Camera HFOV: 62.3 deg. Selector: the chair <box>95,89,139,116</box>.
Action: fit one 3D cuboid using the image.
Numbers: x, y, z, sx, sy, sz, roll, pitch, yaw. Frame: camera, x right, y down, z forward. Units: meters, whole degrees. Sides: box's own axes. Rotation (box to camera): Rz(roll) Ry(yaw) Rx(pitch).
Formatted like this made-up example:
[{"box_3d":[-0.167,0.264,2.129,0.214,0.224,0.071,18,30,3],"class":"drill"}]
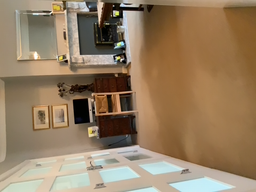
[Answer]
[{"box_3d":[-0.230,0.130,4.130,0.420,0.740,0.400,131,133,-70],"class":"chair"}]
